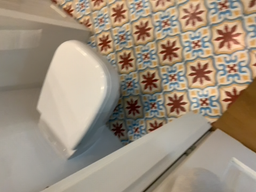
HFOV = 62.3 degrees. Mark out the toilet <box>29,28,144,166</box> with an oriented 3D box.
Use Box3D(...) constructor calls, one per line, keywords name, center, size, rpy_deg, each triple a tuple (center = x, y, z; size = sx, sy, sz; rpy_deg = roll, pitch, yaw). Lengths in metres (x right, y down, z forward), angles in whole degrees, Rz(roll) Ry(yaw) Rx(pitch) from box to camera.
Box3D(name="toilet", center=(-0.230, 0.010, 1.050), size=(0.340, 0.210, 0.540), rpy_deg=(43, 118, 22))
